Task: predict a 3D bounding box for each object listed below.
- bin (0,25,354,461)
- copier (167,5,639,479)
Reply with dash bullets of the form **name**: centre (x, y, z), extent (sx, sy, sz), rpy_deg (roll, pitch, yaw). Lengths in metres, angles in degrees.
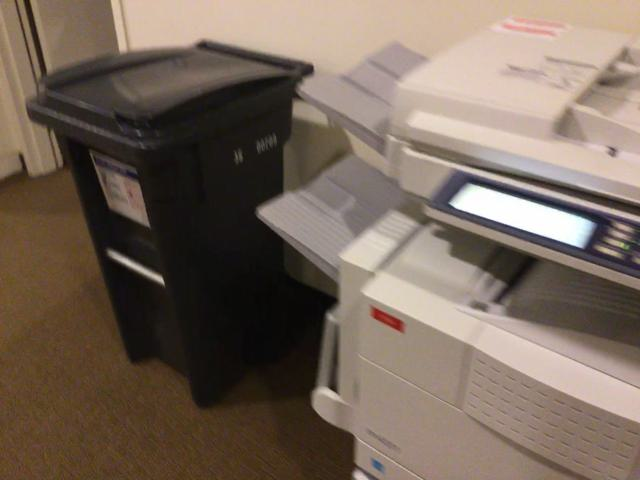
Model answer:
- **bin**: centre (-0.350, -0.050, 1.650), extent (0.570, 0.950, 0.650), rpy_deg (17, 36, 36)
- **copier**: centre (0.490, 0.240, 1.060), extent (1.160, 1.150, 0.730), rpy_deg (17, 36, 36)
